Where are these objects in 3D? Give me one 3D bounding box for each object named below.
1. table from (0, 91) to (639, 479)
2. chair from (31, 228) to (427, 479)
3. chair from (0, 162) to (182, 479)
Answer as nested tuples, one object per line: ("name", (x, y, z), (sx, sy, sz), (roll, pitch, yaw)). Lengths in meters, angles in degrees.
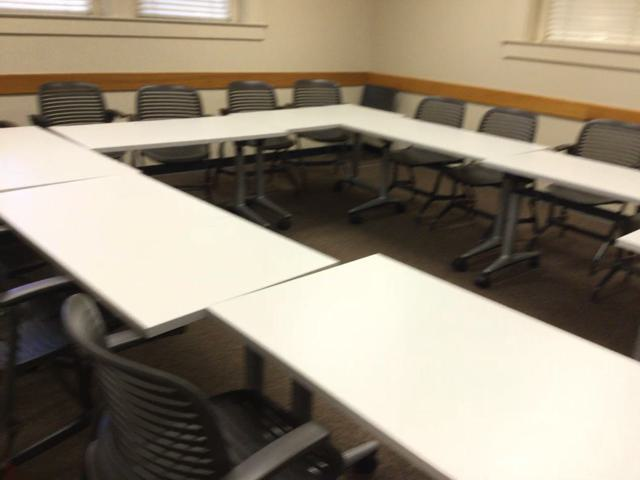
("table", (0.400, 0.090, 2.320), (3.100, 0.860, 4.300), (-9, 23, -30))
("chair", (-0.240, 0.500, 1.270), (0.560, 0.840, 0.640), (-9, 23, -30))
("chair", (-0.870, 0.280, 1.820), (0.590, 0.880, 0.630), (-15, 27, -41))
